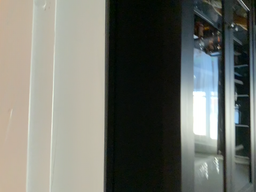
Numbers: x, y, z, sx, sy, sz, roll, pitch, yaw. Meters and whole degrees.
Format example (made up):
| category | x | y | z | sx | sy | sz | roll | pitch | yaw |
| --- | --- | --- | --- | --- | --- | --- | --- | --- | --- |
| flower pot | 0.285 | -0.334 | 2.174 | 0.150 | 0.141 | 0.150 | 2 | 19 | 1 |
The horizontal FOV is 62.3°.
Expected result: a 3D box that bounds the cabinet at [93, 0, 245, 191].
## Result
| category | x | y | z | sx | sy | sz | roll | pitch | yaw |
| --- | --- | --- | --- | --- | --- | --- | --- | --- | --- |
| cabinet | 0.290 | -0.360 | 1.130 | 0.870 | 2.000 | 0.330 | 4 | 176 | -44 |
